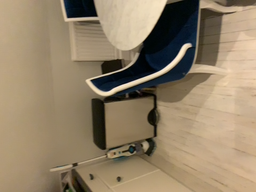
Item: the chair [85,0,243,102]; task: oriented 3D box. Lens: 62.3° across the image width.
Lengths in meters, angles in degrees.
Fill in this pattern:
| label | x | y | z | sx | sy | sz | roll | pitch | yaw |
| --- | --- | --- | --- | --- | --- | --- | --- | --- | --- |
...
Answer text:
| label | x | y | z | sx | sy | sz | roll | pitch | yaw |
| --- | --- | --- | --- | --- | --- | --- | --- | --- | --- |
| chair | 0.240 | -0.350 | 1.440 | 0.460 | 0.930 | 0.570 | 25 | 118 | 55 |
